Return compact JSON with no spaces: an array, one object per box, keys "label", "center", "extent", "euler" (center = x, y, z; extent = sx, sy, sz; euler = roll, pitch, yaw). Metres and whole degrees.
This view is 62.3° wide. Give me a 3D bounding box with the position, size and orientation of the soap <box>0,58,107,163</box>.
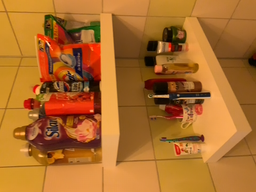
[{"label":"soap","center":[-0.230,0.050,0.750],"extent":[0.230,0.300,0.280],"euler":[99,168,-51]}]
